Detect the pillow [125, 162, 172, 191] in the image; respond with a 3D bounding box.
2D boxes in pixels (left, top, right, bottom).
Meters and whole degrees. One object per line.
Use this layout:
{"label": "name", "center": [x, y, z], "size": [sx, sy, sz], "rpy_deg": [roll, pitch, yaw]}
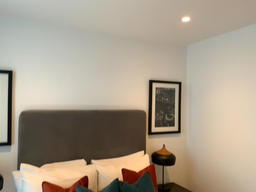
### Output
{"label": "pillow", "center": [0.170, 0.830, 1.890], "size": [0.350, 0.370, 0.140], "rpy_deg": [25, -15, -27]}
